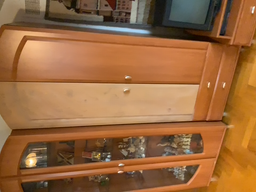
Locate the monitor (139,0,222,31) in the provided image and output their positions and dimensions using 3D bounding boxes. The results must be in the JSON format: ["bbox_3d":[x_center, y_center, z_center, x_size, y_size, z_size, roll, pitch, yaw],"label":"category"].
[{"bbox_3d":[0.420,-0.850,1.750,0.560,0.430,0.490,-124,38,-60],"label":"monitor"}]

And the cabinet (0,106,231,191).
[{"bbox_3d":[-0.070,0.530,2.020,0.440,1.980,0.720,-130,43,-63],"label":"cabinet"}]
